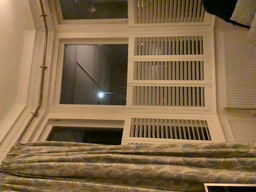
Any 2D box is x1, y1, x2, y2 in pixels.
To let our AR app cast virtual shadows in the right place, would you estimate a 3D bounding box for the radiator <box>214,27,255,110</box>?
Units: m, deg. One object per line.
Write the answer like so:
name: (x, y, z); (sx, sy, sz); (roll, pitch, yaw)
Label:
radiator: (1.380, -0.350, 2.670); (0.090, 0.500, 1.050); (60, -149, -79)
